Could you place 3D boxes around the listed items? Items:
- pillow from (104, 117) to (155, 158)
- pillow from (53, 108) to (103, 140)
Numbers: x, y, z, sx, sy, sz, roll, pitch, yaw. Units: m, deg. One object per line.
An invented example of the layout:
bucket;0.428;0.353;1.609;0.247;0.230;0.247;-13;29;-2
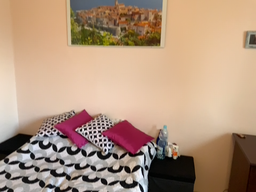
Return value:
pillow;0.020;0.380;2.040;0.350;0.200;0.380;8;13;25
pillow;-0.500;0.270;2.180;0.340;0.170;0.390;6;13;18
